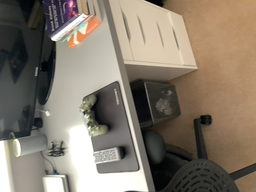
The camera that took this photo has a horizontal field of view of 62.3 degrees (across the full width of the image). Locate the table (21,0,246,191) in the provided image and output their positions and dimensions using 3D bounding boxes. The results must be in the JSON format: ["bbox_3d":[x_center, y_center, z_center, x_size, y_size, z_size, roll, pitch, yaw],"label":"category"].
[{"bbox_3d":[0.030,0.300,1.210,0.790,0.730,1.510,-22,78,43],"label":"table"}]

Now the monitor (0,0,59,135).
[{"bbox_3d":[-0.590,-0.130,0.930,0.070,0.480,0.680,31,114,38],"label":"monitor"}]
